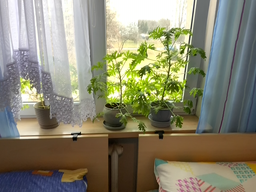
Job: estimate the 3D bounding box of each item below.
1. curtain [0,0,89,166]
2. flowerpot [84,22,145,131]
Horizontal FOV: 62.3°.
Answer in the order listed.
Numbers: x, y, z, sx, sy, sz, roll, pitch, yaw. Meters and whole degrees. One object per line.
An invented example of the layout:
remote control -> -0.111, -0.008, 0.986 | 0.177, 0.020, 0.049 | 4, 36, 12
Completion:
curtain -> -0.630, -0.510, 0.970 | 0.810, 1.850, 0.160 | -1, 19, -7
flowerpot -> -0.090, -0.130, 1.380 | 0.330, 0.660, 0.250 | 0, 19, -5
